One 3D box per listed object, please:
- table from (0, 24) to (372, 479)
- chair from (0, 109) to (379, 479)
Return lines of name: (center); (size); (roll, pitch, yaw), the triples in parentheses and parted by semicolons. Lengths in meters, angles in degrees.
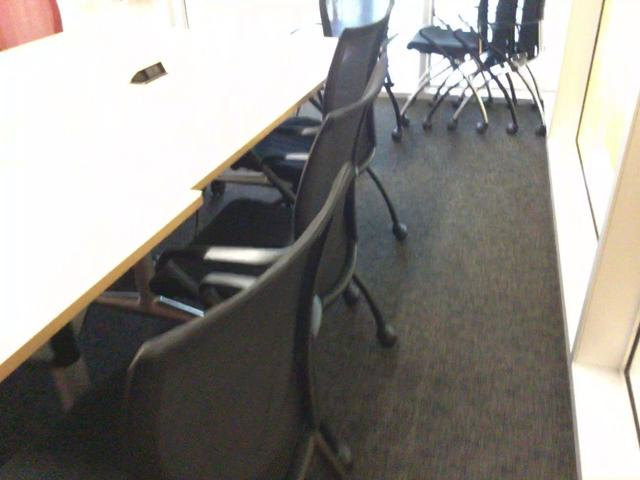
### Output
table: (-0.840, -0.120, 2.030); (1.610, 0.770, 2.140); (7, 33, 15)
chair: (-0.240, 0.300, 1.000); (0.550, 0.840, 0.630); (7, 33, 15)
